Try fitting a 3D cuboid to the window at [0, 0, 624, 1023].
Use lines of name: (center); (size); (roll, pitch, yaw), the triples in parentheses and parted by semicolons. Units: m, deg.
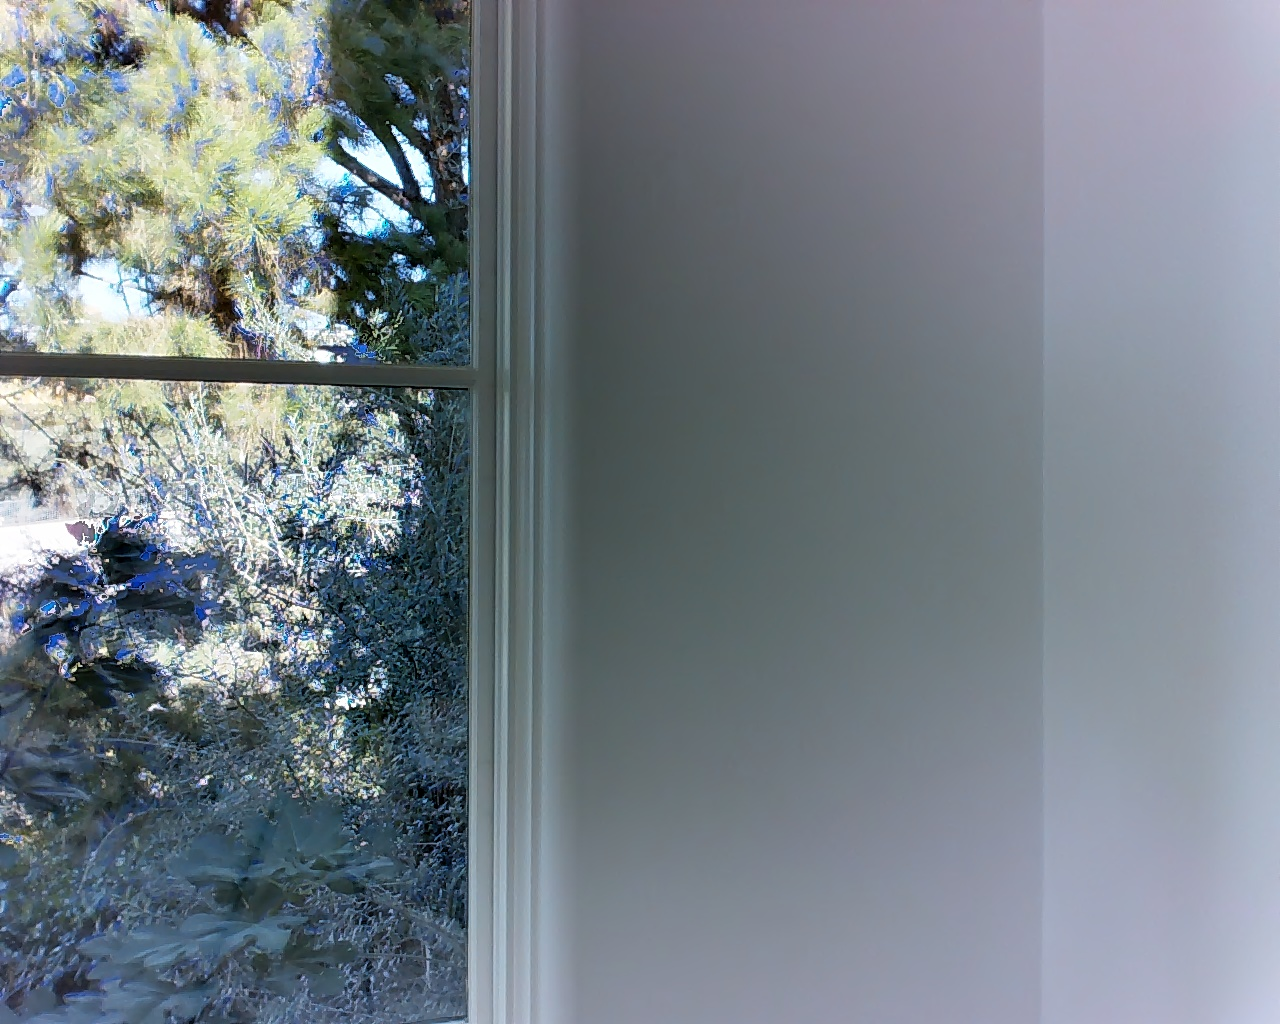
window: (-0.430, -0.140, 0.990); (0.810, 1.510, 0.150); (1, 0, -14)
